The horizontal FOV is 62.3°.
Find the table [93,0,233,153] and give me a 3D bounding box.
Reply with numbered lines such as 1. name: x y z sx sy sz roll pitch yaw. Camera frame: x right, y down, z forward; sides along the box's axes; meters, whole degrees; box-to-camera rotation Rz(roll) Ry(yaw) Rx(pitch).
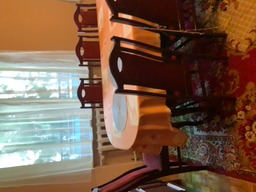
1. table: 0.180 -0.560 2.110 1.060 0.770 2.030 156 111 -67
